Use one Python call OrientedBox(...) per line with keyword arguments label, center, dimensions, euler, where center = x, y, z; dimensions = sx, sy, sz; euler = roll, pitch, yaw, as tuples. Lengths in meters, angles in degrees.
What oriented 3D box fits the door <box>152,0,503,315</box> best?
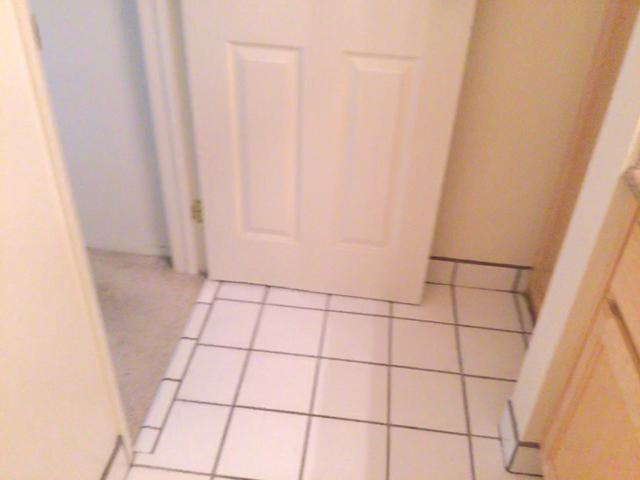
OrientedBox(label="door", center=(0.000, -0.420, 1.500), dimensions=(0.830, 1.480, 0.060), euler=(6, 35, 4))
